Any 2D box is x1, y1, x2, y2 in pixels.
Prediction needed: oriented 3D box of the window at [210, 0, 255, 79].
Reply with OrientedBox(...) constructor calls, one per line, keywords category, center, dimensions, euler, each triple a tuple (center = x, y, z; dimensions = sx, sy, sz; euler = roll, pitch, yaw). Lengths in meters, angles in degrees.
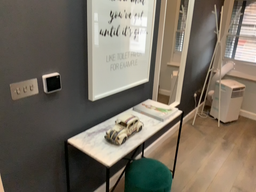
OrientedBox(category="window", center=(1.850, -0.940, 3.390), dimensions=(0.840, 1.240, 0.040), euler=(20, 28, 37))
